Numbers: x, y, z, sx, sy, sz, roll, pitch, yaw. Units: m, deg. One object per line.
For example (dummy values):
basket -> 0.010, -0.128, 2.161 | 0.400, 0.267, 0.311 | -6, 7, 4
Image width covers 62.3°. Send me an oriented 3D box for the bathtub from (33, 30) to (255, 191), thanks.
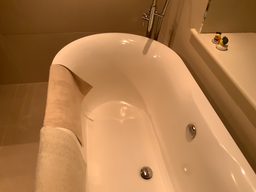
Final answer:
bathtub -> 0.030, 0.350, 1.140 | 0.830, 0.620, 1.740 | -4, 44, -11
